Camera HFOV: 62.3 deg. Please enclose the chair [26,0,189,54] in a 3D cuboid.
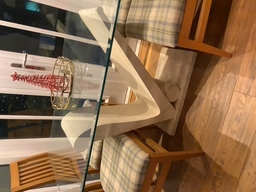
[{"bbox_3d":[-0.110,-0.720,1.460,0.470,0.970,0.610,34,115,54],"label":"chair"}]
